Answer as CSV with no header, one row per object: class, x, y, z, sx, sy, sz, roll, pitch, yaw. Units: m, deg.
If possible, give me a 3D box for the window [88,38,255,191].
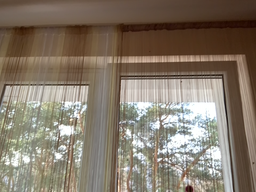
window,0.320,0.420,1.030,0.980,1.480,0.210,2,-21,0
